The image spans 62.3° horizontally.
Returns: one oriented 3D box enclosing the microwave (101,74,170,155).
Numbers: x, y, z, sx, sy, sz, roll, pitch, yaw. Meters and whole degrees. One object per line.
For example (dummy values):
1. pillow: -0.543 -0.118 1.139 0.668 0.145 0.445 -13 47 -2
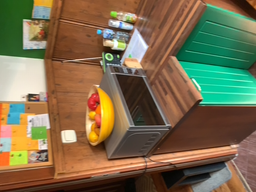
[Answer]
1. microwave: 0.020 0.100 1.240 0.260 0.200 0.370 -63 38 37
